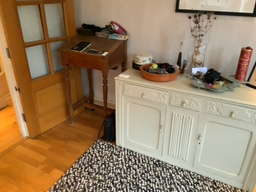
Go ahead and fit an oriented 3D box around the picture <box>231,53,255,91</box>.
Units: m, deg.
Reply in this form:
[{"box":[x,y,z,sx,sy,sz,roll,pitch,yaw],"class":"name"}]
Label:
[{"box":[1.090,-0.190,1.770,0.180,0.240,0.320,-14,30,-28],"class":"picture"}]
